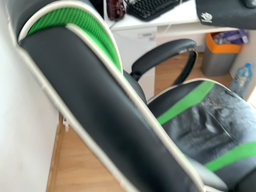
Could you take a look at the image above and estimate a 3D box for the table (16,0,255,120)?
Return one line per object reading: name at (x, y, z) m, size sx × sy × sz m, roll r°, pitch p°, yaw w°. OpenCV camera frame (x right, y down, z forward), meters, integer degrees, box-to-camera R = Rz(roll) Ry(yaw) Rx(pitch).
table at (0.190, -0.350, 1.460) m, size 1.410 × 0.750 × 0.610 m, roll -4°, pitch 51°, yaw 1°
